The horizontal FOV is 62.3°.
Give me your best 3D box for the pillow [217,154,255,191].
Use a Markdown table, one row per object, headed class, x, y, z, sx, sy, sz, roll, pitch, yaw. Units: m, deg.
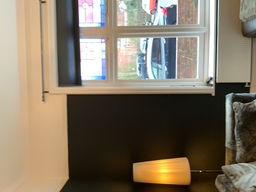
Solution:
| class | x | y | z | sx | sy | sz | roll | pitch | yaw |
| --- | --- | --- | --- | --- | --- | --- | --- | --- | --- |
| pillow | 1.030 | 0.670 | 1.750 | 0.550 | 0.480 | 0.140 | -22 | -85 | -71 |
